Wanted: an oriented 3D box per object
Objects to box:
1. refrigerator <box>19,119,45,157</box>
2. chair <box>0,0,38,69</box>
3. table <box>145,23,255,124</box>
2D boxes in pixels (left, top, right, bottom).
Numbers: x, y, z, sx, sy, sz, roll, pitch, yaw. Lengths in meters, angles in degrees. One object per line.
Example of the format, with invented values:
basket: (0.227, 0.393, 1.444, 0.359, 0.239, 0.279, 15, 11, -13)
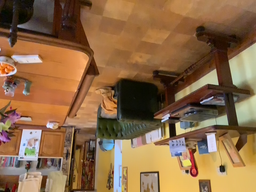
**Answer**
refrigerator: (-2.800, 1.260, 6.240, 0.530, 1.000, 0.550, 7, 159, -18)
chair: (-0.840, -0.630, 1.370, 0.410, 0.720, 0.480, 7, 159, -20)
table: (0.770, -0.150, 2.740, 0.580, 0.710, 1.410, 6, 159, -18)
